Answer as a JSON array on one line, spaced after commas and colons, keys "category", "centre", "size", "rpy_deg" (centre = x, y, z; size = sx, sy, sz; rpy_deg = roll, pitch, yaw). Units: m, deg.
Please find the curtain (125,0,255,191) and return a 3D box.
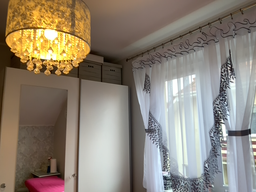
[{"category": "curtain", "centre": [0.610, 0.300, 2.110], "size": [0.320, 2.000, 1.610], "rpy_deg": [7, -12, -39]}]
